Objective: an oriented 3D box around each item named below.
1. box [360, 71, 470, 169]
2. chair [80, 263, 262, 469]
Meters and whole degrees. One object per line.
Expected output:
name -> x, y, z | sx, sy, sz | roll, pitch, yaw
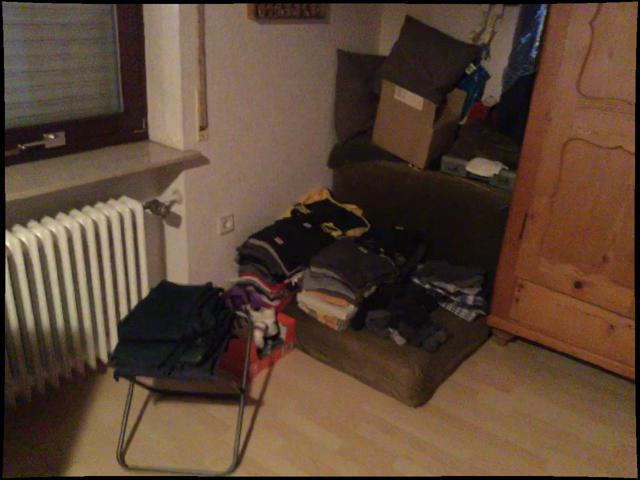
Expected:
box -> 0.450, -0.591, 2.790 | 0.400, 0.360, 0.290 | 19, 30, 33
chair -> -0.450, 0.390, 1.920 | 0.400, 0.410, 0.500 | 5, 25, 7
